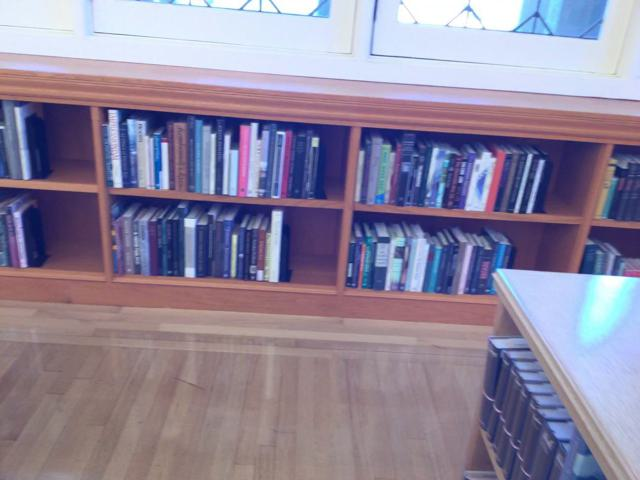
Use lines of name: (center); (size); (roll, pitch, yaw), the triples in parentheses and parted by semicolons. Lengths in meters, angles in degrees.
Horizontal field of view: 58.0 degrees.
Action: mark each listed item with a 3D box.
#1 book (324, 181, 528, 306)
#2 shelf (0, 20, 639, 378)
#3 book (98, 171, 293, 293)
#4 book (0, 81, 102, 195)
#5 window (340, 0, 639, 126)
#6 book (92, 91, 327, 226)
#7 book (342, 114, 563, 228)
book: (0.400, 0.010, 2.350); (0.730, 0.360, 0.270); (6, 23, -3)
shelf: (-0.470, -0.200, 2.180); (3.550, 0.990, 0.530); (6, 23, -3)
book: (-0.480, -0.040, 2.340); (0.700, 0.330, 0.330); (6, 23, -3)
book: (-1.270, -0.410, 2.140); (0.790, 0.310, 0.350); (6, 23, -3)
window: (0.750, -1.300, 1.990); (1.160, 1.660, 0.130); (7, 23, 0)
book: (-0.400, -0.320, 2.220); (0.810, 0.360, 0.320); (6, 23, -3)
book: (0.480, -0.270, 2.230); (0.750, 0.300, 0.260); (6, 23, -3)
